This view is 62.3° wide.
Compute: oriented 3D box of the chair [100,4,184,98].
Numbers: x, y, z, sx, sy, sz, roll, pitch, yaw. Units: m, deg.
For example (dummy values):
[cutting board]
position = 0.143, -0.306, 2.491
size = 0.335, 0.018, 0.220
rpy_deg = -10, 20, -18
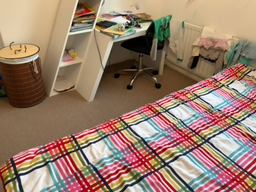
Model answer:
[chair]
position = 0.140, -0.540, 2.400
size = 0.650, 0.760, 0.600
rpy_deg = 24, 39, 27
